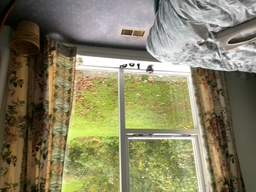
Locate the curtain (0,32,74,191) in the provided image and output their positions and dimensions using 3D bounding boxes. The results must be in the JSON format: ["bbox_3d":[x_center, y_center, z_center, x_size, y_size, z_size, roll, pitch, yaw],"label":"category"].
[{"bbox_3d":[-0.790,0.420,1.910,0.490,2.230,0.170,0,160,-9],"label":"curtain"}]

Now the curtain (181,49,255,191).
[{"bbox_3d":[1.020,0.530,2.290,0.560,2.260,0.190,1,160,-10],"label":"curtain"}]
